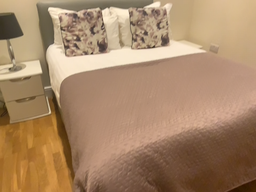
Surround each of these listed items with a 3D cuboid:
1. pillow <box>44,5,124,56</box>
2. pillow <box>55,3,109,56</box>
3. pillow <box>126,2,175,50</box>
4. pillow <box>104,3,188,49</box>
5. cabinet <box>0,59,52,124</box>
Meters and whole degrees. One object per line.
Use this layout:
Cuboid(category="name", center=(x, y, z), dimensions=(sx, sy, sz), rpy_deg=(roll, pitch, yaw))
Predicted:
Cuboid(category="pillow", center=(-0.450, -0.700, 2.170), dimensions=(0.640, 0.350, 0.540), rpy_deg=(-14, 31, -24))
Cuboid(category="pillow", center=(-0.400, -0.600, 1.940), dimensions=(0.410, 0.380, 0.100), rpy_deg=(-21, 58, -13))
Cuboid(category="pillow", center=(0.220, -0.710, 2.180), dimensions=(0.450, 0.400, 0.120), rpy_deg=(-13, 53, -9))
Cuboid(category="pillow", center=(0.170, -0.810, 2.370), dimensions=(0.710, 0.350, 0.590), rpy_deg=(-12, 30, -21))
Cuboid(category="cabinet", center=(-1.120, -0.070, 2.290), dimensions=(0.430, 0.490, 0.450), rpy_deg=(-12, 30, -21))
